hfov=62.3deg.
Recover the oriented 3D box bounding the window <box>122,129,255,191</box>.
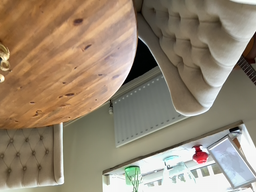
[{"bbox_3d":[0.590,1.180,1.600,1.190,1.520,0.280,-26,141,24],"label":"window"}]

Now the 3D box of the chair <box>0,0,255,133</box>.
[{"bbox_3d":[-0.040,-0.470,0.840,0.630,1.030,0.540,-5,145,-5],"label":"chair"}]
